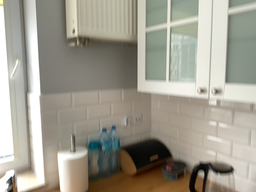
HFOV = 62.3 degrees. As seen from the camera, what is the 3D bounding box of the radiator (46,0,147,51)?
[{"bbox_3d":[-0.170,-0.640,1.330,0.610,0.660,0.210,-6,9,-40],"label":"radiator"}]
